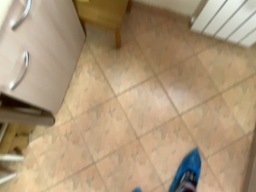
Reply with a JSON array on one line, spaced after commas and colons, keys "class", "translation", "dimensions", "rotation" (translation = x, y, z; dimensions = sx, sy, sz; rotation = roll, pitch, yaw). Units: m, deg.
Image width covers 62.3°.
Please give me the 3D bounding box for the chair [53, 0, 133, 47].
[{"class": "chair", "translation": [-0.170, -0.590, 1.190], "dimensions": [0.340, 0.510, 0.360], "rotation": [16, 80, 1]}]
